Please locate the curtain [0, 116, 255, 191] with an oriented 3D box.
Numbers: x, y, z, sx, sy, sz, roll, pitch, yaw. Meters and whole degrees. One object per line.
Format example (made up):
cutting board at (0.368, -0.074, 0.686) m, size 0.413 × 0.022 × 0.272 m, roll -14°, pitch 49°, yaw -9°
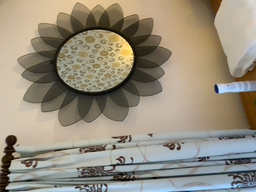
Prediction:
curtain at (0.450, 0.270, 0.940) m, size 0.170 × 2.100 × 0.310 m, roll 89°, pitch 177°, yaw -66°
